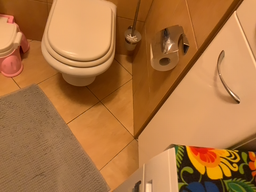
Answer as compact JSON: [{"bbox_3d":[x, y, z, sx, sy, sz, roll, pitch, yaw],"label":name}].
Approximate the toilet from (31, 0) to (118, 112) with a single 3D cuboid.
[{"bbox_3d":[-0.290,-0.260,1.250,0.360,0.460,0.520,8,58,-12],"label":"toilet"}]
